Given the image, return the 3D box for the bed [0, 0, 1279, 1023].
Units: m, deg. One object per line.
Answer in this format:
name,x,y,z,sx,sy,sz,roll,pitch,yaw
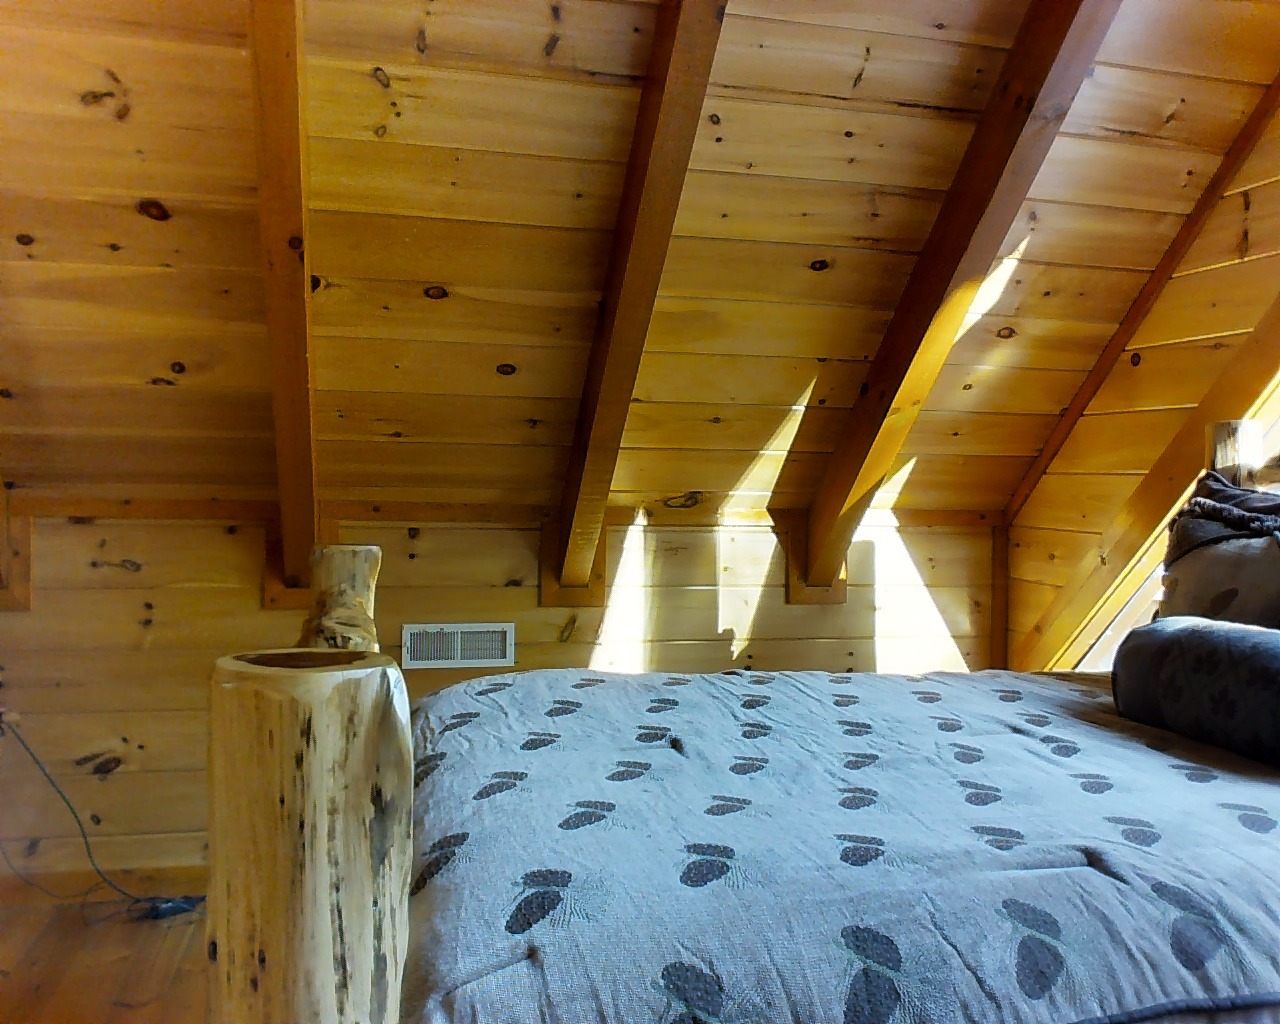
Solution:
bed,0.560,0.430,1.670,2.309,1.400,1.850,0,2,-14
